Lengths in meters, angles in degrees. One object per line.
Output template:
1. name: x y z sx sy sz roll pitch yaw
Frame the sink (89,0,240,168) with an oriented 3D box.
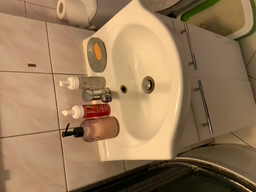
1. sink: 0.080 -0.040 0.730 0.410 0.170 0.510 -19 78 46
